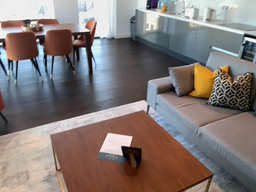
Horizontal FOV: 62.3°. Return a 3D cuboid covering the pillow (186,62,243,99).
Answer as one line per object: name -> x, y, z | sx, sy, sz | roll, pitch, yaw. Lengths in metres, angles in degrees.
pillow -> 0.950, -0.170, 2.370 | 0.450, 0.330, 0.230 | 1, 46, -8
